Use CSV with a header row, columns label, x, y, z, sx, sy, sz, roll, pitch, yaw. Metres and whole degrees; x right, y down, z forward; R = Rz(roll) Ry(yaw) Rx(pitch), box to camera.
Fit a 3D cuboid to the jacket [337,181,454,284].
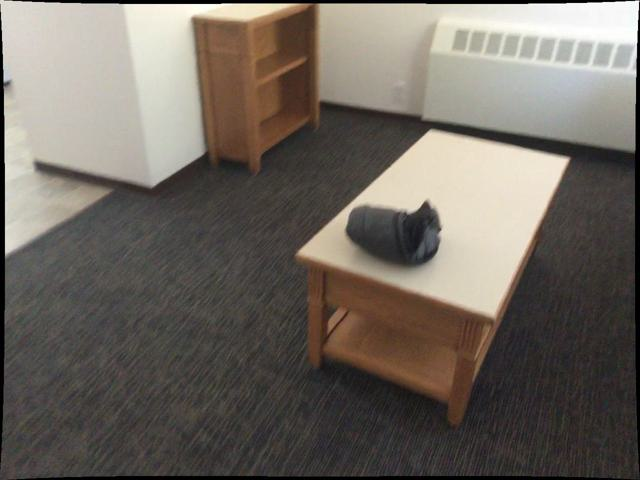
label,x,y,z,sx,sy,sz,roll,pitch,yaw
jacket,0.210,-0.030,1.590,0.250,0.130,0.240,14,36,19
